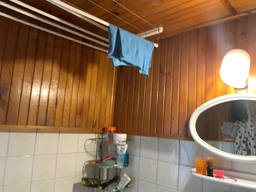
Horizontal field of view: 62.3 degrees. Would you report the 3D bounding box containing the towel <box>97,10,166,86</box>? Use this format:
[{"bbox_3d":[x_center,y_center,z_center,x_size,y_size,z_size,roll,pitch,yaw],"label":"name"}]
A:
[{"bbox_3d":[0.050,-0.240,1.230,0.140,0.280,0.470,-2,-10,36],"label":"towel"}]

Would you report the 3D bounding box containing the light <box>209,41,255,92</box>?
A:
[{"bbox_3d":[0.530,-0.130,1.050,0.160,0.180,0.240,-3,-11,43],"label":"light"}]
